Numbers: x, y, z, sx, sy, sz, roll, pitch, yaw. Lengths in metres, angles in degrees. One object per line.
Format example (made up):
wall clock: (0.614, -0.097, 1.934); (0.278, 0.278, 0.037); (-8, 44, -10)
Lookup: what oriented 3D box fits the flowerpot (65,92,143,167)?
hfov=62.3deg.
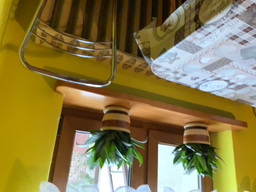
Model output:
flowerpot: (-0.120, 0.200, 1.160); (0.340, 0.330, 0.190); (15, 158, -27)

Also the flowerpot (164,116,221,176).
flowerpot: (0.420, 0.340, 1.410); (0.250, 0.330, 0.240); (15, 158, -28)
